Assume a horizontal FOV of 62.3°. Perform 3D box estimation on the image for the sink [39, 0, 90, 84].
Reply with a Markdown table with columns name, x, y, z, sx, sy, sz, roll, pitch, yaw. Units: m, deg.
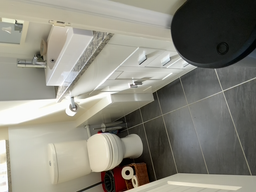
| name | x | y | z | sx | sy | sz | roll | pitch | yaw |
| --- | --- | --- | --- | --- | --- | --- | --- | --- | --- |
| sink | -0.400 | -0.310 | 1.240 | 0.590 | 0.100 | 0.290 | -31 | 66 | 52 |
